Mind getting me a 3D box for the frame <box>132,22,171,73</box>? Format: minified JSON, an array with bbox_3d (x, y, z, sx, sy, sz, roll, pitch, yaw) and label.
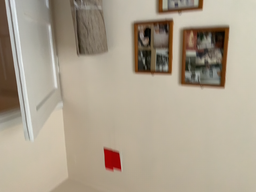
[{"bbox_3d":[0.140,-0.300,1.330,0.250,0.300,0.020,7,-164,29],"label":"frame"}]
